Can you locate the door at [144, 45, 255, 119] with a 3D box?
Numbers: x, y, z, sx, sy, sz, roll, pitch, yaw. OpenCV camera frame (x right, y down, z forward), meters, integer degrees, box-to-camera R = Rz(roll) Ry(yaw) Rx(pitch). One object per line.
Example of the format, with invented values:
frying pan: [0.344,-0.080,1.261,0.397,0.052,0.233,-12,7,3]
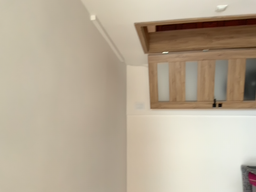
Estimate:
door: [1.310,-0.180,3.040,0.280,2.100,0.980,-65,-28,-67]
